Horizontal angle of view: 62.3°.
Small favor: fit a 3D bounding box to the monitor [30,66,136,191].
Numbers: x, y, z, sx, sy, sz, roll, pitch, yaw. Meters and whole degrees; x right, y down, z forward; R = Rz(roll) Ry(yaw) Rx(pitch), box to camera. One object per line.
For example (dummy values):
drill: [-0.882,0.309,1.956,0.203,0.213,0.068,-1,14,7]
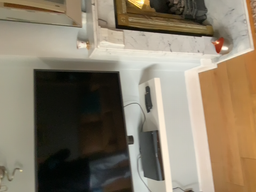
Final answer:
monitor: [-0.270,0.280,1.290,0.060,0.560,0.970,142,122,-62]
